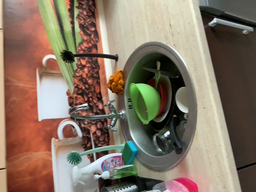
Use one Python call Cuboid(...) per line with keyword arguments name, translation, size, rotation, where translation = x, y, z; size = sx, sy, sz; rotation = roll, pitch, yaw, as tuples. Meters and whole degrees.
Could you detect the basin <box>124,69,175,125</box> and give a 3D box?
Cuboid(name="basin", translation=(0.090, 0.010, 0.960), size=(0.180, 0.120, 0.210), rotation=(-25, 69, 56))
